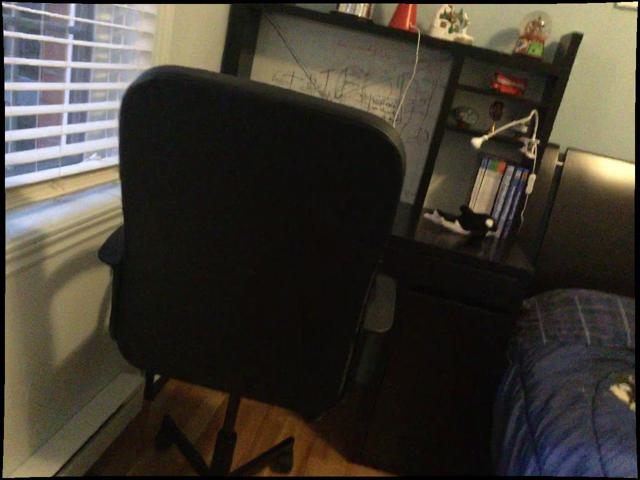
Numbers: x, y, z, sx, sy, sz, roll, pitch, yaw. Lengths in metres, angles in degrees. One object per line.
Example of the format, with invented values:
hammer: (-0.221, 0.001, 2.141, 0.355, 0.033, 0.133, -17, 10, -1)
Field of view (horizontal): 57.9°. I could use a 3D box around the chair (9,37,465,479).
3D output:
chair: (-0.180, 0.130, 1.280, 0.689, 0.951, 0.530, 14, 18, 4)
